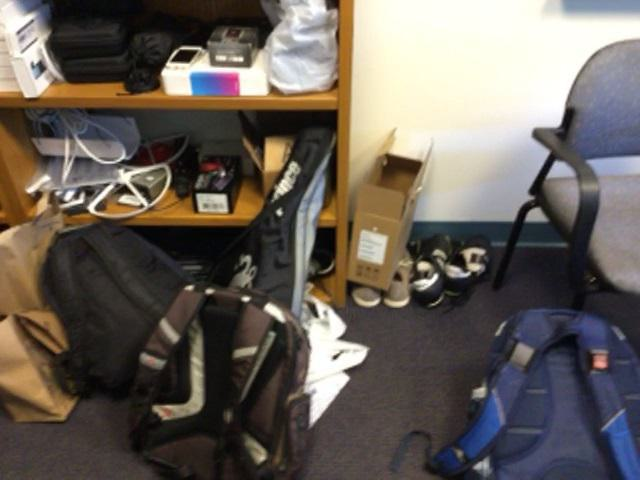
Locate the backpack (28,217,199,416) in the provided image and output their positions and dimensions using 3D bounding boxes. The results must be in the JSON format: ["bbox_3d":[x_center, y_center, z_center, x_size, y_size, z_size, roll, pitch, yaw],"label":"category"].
[{"bbox_3d":[-0.560,0.170,1.560,0.340,0.420,0.350,-5,10,-33],"label":"backpack"}]

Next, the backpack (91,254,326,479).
[{"bbox_3d":[-0.230,0.310,1.340,0.430,0.500,0.260,-2,11,9],"label":"backpack"}]

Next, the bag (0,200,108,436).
[{"bbox_3d":[-0.810,0.190,1.410,0.370,0.460,0.340,0,37,2],"label":"bag"}]

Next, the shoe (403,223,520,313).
[{"bbox_3d":[0.430,0.080,1.820,0.300,0.110,0.310,0,37,2],"label":"shoe"}]

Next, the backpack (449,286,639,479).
[{"bbox_3d":[0.550,0.380,1.330,0.400,0.460,0.270,-4,-24,2],"label":"backpack"}]
